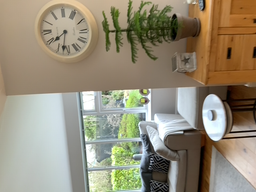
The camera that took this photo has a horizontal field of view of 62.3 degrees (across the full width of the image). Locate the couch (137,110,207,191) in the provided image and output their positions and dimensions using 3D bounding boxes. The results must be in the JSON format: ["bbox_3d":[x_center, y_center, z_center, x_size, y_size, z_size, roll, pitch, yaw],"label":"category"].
[{"bbox_3d":[0.710,1.520,4.040,0.990,0.960,2.240,-108,17,-72],"label":"couch"}]

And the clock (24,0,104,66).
[{"bbox_3d":[-0.480,-0.520,1.660,0.090,0.550,0.540,-106,15,-70],"label":"clock"}]

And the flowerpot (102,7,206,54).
[{"bbox_3d":[0.170,-0.500,1.600,0.280,0.710,0.300,-106,15,-70],"label":"flowerpot"}]
